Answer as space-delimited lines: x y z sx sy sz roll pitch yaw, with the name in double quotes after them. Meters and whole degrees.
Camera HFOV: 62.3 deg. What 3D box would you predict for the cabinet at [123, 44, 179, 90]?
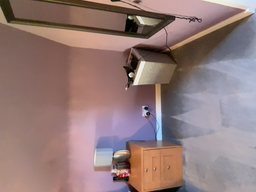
0.280 -0.370 2.800 0.400 0.530 0.420 -113 32 -45 "cabinet"
